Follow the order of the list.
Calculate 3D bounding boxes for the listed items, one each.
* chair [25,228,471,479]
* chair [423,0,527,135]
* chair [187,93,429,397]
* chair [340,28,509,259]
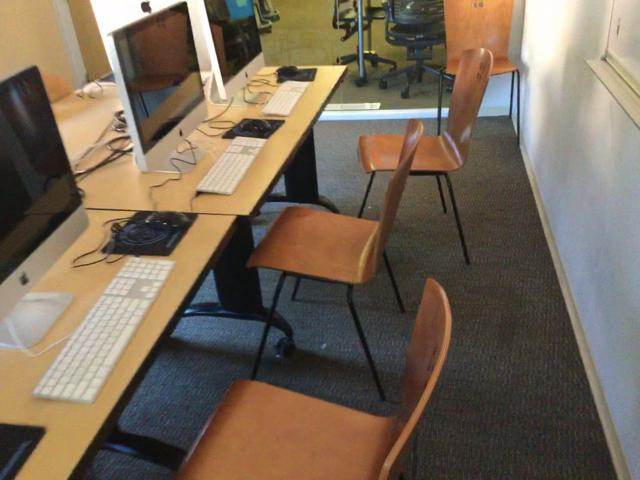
[{"bbox_3d":[-0.030,0.460,1.120,0.560,0.810,0.500,2,34,11],"label":"chair"},{"bbox_3d":[0.920,-1.150,3.560,0.540,0.840,0.550,2,34,11],"label":"chair"},{"bbox_3d":[0.030,0.010,1.850,0.600,0.800,0.500,2,34,11],"label":"chair"},{"bbox_3d":[0.410,-0.410,2.460,0.580,0.780,0.570,-2,33,6],"label":"chair"}]
